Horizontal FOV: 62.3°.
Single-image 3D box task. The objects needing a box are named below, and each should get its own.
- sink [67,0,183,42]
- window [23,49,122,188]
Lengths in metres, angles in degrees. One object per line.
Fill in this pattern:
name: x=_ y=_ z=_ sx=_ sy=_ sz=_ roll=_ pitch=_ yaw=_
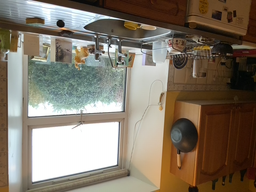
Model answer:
sink: x=-0.030 y=-0.480 z=1.310 sx=0.570 sy=0.180 sz=0.430 roll=-1 pitch=-173 yaw=-32
window: x=-0.500 y=0.200 z=2.070 sx=0.940 sy=1.190 sz=0.070 roll=-1 pitch=-172 yaw=-34
